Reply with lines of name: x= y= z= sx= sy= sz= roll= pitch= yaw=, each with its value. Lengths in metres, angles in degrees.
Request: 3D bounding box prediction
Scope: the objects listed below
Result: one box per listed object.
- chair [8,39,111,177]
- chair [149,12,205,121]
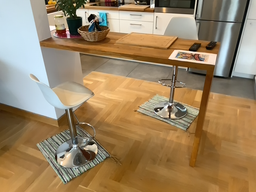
chair: x=-0.470 y=0.090 z=1.710 sx=0.450 sy=0.930 sz=0.470 roll=12 pitch=33 yaw=20
chair: x=0.500 y=-0.310 z=2.240 sx=0.390 sy=1.000 sz=0.460 roll=11 pitch=33 yaw=18
